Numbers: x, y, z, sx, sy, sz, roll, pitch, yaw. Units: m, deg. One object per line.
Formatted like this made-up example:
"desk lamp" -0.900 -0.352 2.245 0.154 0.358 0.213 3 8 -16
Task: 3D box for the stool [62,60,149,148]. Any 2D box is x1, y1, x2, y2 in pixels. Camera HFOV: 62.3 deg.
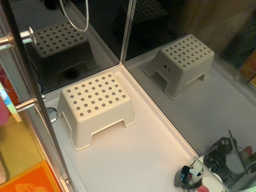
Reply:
"stool" -0.150 0.050 1.360 0.400 0.340 0.320 -21 63 -22

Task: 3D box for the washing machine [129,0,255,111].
"washing machine" 0.460 -0.430 1.470 0.620 0.830 0.520 -26 64 -24
